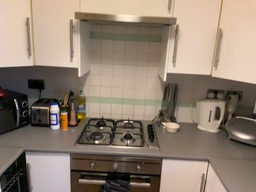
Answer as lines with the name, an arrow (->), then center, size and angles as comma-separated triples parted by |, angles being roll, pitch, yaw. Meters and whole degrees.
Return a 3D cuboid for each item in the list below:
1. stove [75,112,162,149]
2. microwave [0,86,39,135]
stove -> -0.060, 0.250, 1.680 | 0.580, 0.040, 0.540 | 3, 15, 0
microwave -> -1.020, 0.110, 1.600 | 0.390, 0.240, 0.500 | 13, 18, 33
